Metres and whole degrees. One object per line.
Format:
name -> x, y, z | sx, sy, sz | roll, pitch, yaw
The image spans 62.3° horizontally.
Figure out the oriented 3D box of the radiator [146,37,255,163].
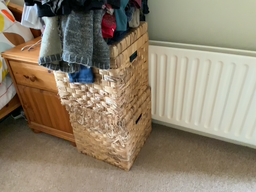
radiator -> 0.690, 0.080, 1.080 | 1.220, 0.610, 0.130 | 13, 37, 22
